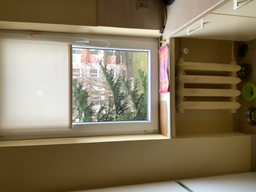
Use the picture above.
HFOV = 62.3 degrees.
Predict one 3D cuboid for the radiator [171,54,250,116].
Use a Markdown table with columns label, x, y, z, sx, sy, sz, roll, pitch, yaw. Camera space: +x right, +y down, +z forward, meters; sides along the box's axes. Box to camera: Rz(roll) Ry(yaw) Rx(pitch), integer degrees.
| label | x | y | z | sx | sy | sz | roll | pitch | yaw |
| --- | --- | --- | --- | --- | --- | --- | --- | --- | --- |
| radiator | 0.740 | -0.090 | 1.900 | 0.190 | 0.670 | 0.510 | -177 | 87 | -76 |
